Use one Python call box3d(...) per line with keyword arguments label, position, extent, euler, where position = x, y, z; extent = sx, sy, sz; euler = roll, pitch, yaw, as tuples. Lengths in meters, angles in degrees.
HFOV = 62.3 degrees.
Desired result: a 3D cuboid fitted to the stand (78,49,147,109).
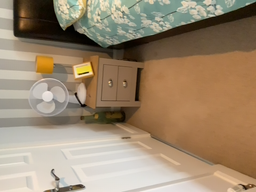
box3d(label="stand", position=(-0.170, -0.150, 2.060), extent=(0.480, 0.490, 0.490), euler=(11, 98, 61))
